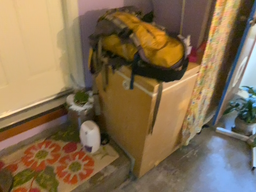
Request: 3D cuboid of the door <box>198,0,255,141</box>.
[{"bbox_3d":[0.980,-0.620,1.630,0.070,2.060,0.810,26,41,28],"label":"door"}]
